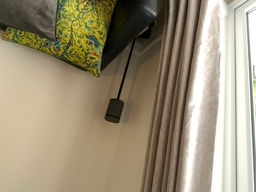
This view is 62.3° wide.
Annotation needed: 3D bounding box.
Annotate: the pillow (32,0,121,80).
[{"bbox_3d":[-0.330,-0.450,1.450,0.440,0.440,0.350,21,132,-24],"label":"pillow"}]
